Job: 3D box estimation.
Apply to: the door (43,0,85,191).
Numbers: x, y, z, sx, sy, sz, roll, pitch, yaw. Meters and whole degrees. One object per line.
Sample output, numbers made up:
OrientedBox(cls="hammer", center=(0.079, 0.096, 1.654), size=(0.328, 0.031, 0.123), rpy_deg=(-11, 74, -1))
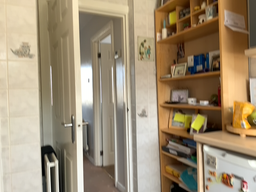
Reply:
OrientedBox(cls="door", center=(-0.490, 0.140, 1.560), size=(0.060, 2.000, 0.800), rpy_deg=(-3, 2, -30))
